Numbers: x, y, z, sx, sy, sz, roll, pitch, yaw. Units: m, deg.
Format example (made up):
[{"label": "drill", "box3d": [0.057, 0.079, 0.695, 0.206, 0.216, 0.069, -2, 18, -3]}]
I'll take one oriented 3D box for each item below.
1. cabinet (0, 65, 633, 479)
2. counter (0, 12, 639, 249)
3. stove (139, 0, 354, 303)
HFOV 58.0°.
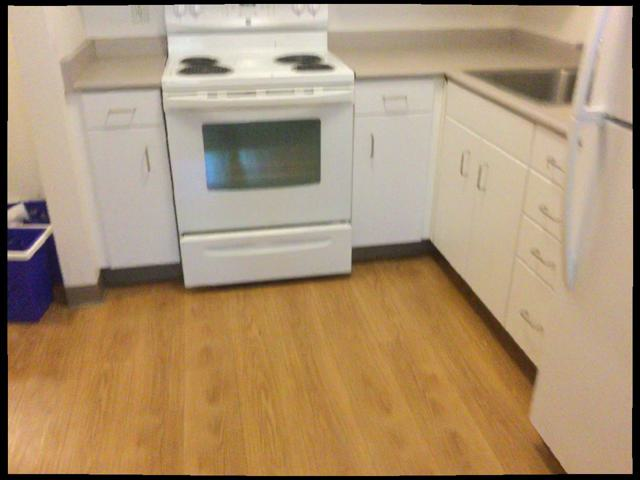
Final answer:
[{"label": "cabinet", "box3d": [-0.090, 0.000, 2.100, 1.627, 0.901, 1.190, -7, 29, -10]}, {"label": "counter", "box3d": [0.120, -0.591, 2.160, 2.176, 0.180, 1.781, -7, 29, -10]}, {"label": "stove", "box3d": [-0.319, -0.481, 2.690, 0.739, 1.192, 0.800, -9, 29, -9]}]
